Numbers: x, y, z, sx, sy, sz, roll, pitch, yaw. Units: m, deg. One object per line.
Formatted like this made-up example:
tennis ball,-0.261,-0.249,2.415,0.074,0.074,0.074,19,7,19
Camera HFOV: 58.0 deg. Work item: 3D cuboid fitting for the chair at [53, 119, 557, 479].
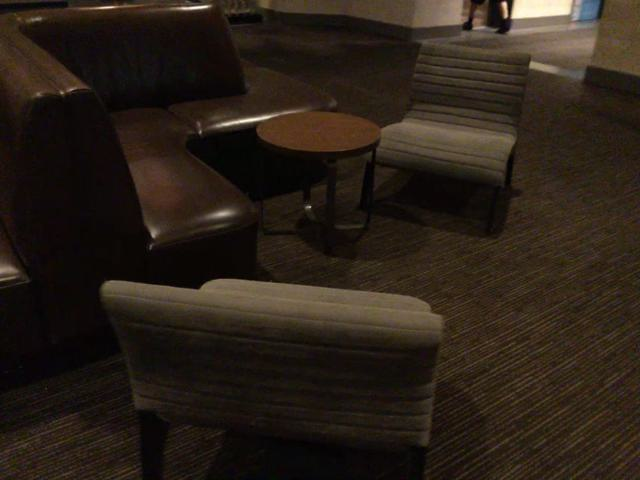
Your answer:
chair,-0.050,0.240,1.440,0.800,0.780,0.810,9,26,0

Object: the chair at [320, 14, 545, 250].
chair,0.610,-0.630,3.100,0.870,0.800,0.910,17,35,14

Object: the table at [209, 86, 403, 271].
table,-0.090,-0.310,2.650,0.580,0.490,0.590,-20,50,-35
